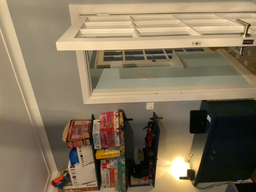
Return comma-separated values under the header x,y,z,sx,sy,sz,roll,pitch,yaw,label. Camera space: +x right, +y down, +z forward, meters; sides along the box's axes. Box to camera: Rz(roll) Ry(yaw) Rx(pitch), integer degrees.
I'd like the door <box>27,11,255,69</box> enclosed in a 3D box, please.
x,y,z,sx,sy,sz,roll,pitch,yaw,label
0.540,-0.450,1.470,0.920,2.090,0.100,-96,4,-60,door
